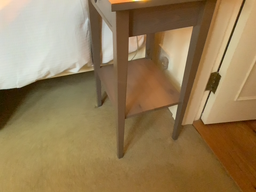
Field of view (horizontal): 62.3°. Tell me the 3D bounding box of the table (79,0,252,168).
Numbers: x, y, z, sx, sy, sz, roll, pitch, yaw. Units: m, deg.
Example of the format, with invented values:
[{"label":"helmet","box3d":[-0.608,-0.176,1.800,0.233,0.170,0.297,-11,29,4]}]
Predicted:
[{"label":"table","box3d":[0.060,-0.140,0.910,0.410,0.700,0.480,-12,44,-15]}]
